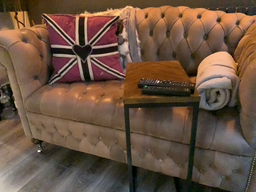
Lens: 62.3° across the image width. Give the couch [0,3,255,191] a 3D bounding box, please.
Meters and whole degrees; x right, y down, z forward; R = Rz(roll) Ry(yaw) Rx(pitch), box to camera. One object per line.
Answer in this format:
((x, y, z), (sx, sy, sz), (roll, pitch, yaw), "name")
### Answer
((0.080, -0.090, 1.380), (1.610, 0.870, 0.900), (9, 28, 22), "couch")
